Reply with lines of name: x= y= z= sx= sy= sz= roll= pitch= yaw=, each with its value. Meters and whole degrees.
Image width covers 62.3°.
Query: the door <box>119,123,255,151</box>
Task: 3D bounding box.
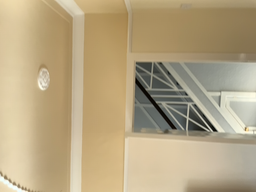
door: x=0.920 y=0.340 z=1.760 sx=0.730 sy=1.910 sz=0.130 roll=52 pitch=-140 yaw=-82
